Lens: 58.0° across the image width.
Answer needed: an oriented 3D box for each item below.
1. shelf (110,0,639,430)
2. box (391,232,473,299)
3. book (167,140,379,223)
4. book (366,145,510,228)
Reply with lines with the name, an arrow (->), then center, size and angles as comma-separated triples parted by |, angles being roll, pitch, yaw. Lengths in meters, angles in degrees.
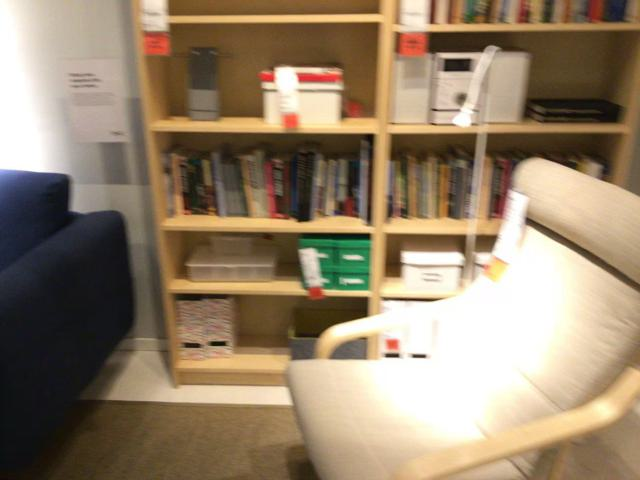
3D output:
shelf -> 0.220, -0.200, 2.070 | 1.690, 1.650, 0.450 | 2, 18, 3
box -> 0.410, 0.090, 2.170 | 0.260, 0.170, 0.240 | 2, 18, 3
book -> -0.160, -0.220, 2.120 | 0.730, 0.240, 0.220 | 2, 18, 3
book -> 0.410, -0.200, 2.100 | 0.470, 0.250, 0.210 | 2, 18, 3
